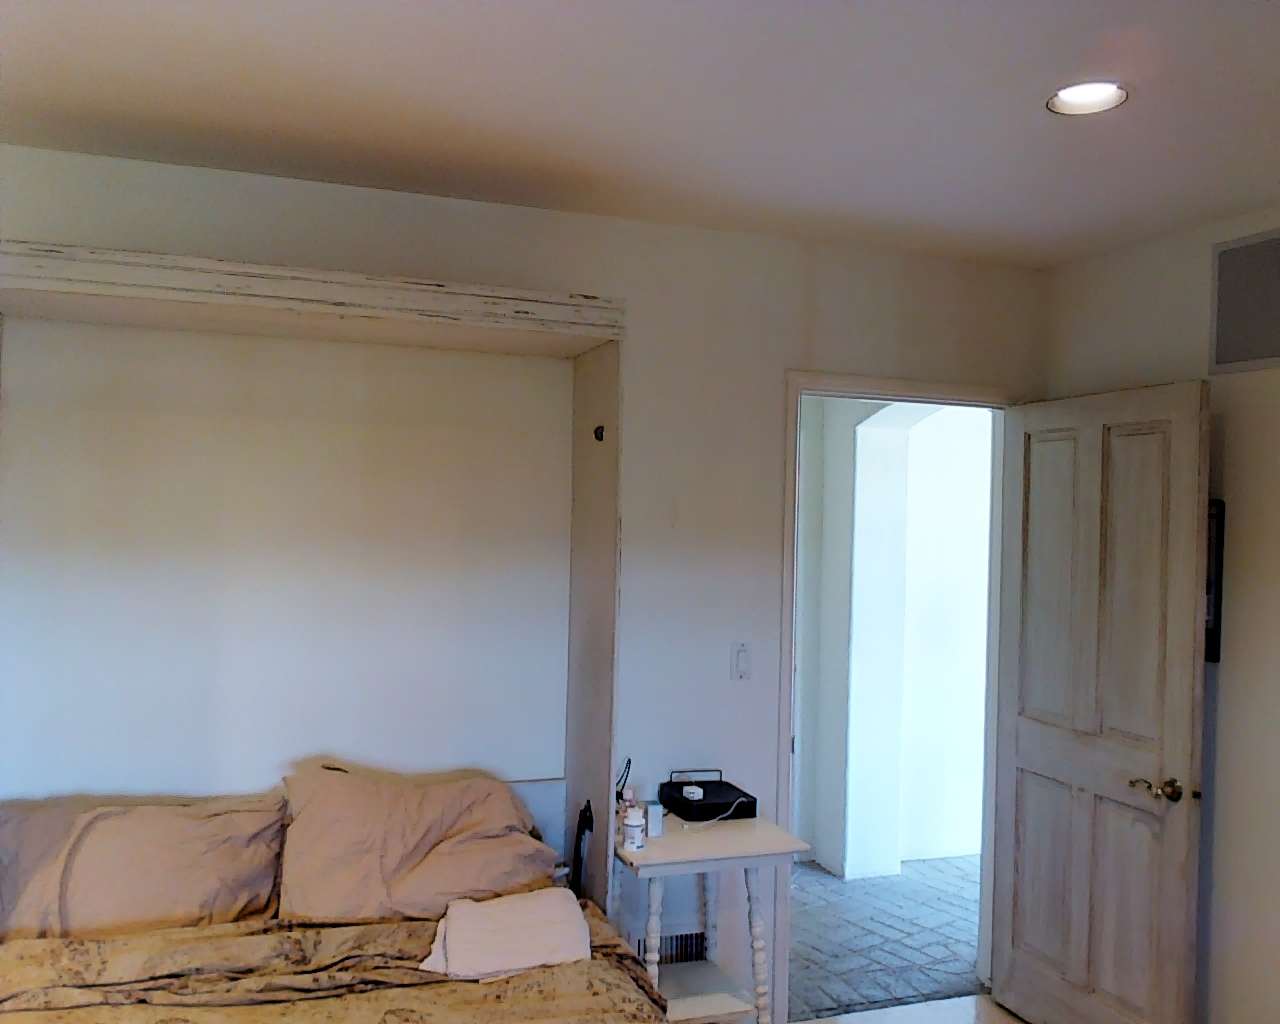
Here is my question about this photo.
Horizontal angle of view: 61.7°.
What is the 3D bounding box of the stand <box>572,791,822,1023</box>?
[{"bbox_3d":[0.140,1.240,2.990,0.520,0.760,0.520,1,0,-21],"label":"stand"}]
